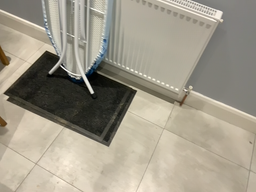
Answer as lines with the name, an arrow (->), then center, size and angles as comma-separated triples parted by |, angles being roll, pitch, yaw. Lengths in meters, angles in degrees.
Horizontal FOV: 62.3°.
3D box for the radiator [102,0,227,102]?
radiator -> 0.130, -0.300, 1.300 | 0.600, 0.720, 0.090 | 24, 58, 8
